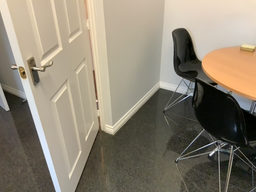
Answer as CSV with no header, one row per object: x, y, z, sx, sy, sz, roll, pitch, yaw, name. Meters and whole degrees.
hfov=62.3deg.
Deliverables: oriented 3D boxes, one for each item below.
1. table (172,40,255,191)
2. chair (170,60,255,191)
1.020,0.140,1.620,0.990,0.750,0.980,17,36,27,table
0.640,0.250,1.410,0.450,0.780,0.460,-19,36,-27,chair
